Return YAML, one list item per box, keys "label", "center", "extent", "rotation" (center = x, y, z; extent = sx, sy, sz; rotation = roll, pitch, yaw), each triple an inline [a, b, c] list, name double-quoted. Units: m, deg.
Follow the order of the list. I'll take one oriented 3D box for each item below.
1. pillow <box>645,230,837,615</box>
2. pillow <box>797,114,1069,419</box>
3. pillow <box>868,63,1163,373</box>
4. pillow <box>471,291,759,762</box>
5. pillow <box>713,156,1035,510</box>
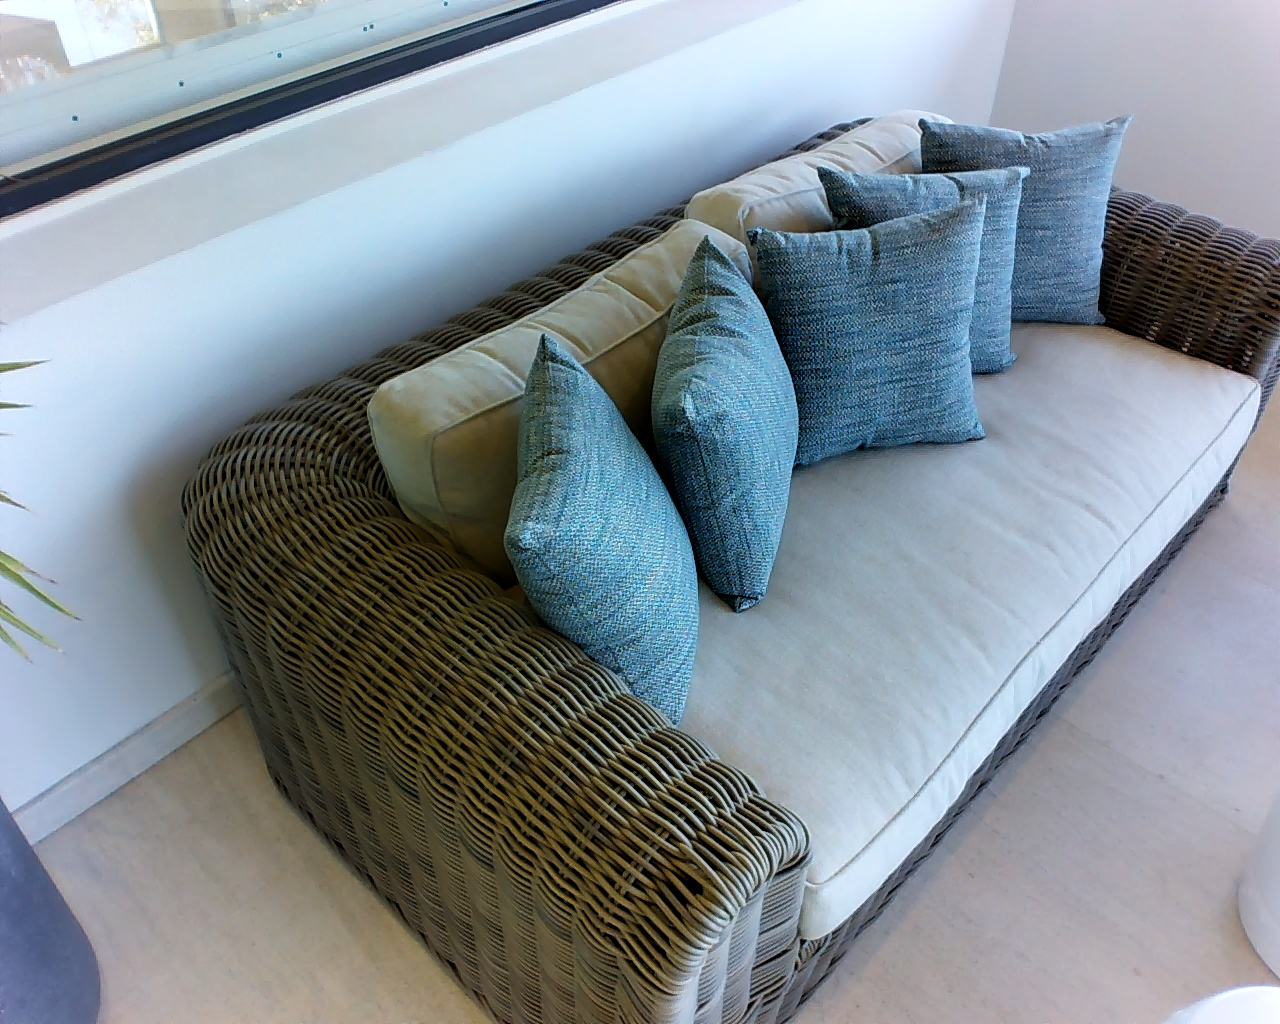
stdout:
- label: "pillow"
  center: [0.170, -0.130, 1.570]
  extent: [0.160, 0.370, 0.420]
  rotation: [-1, 45, 18]
- label: "pillow"
  center: [0.530, -0.430, 1.910]
  extent: [0.400, 0.380, 0.170]
  rotation: [-21, 41, 0]
- label: "pillow"
  center: [0.720, -0.550, 2.060]
  extent: [0.420, 0.390, 0.210]
  rotation: [-21, 41, 18]
- label: "pillow"
  center: [-0.020, 0.020, 1.430]
  extent: [0.190, 0.420, 0.430]
  rotation: [-18, 42, 15]
- label: "pillow"
  center: [0.390, -0.280, 1.740]
  extent: [0.410, 0.400, 0.180]
  rotation: [-25, 41, 0]
